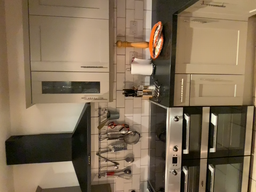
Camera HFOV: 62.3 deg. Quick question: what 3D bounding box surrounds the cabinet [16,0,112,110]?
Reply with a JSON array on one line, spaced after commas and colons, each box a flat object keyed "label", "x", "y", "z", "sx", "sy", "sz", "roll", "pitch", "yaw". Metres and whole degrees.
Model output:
[{"label": "cabinet", "x": -0.590, "y": -0.470, "z": 2.080, "sx": 0.300, "sy": 0.820, "sz": 1.170, "roll": -148, "pitch": 59, "yaw": -77}]

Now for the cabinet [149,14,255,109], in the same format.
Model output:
[{"label": "cabinet", "x": 0.760, "y": -0.330, "z": 2.230, "sx": 0.590, "sy": 0.910, "sz": 0.820, "roll": -148, "pitch": 59, "yaw": -77}]
